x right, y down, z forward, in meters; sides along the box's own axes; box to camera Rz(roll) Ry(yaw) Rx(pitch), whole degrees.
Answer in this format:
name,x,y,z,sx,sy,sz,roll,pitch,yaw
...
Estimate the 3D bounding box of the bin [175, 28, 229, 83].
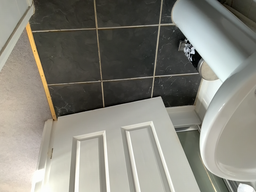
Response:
name,x,y,z,sx,sy,sz,roll,pitch,yaw
bin,0.400,-0.230,1.200,0.180,0.210,0.220,-6,131,-7
